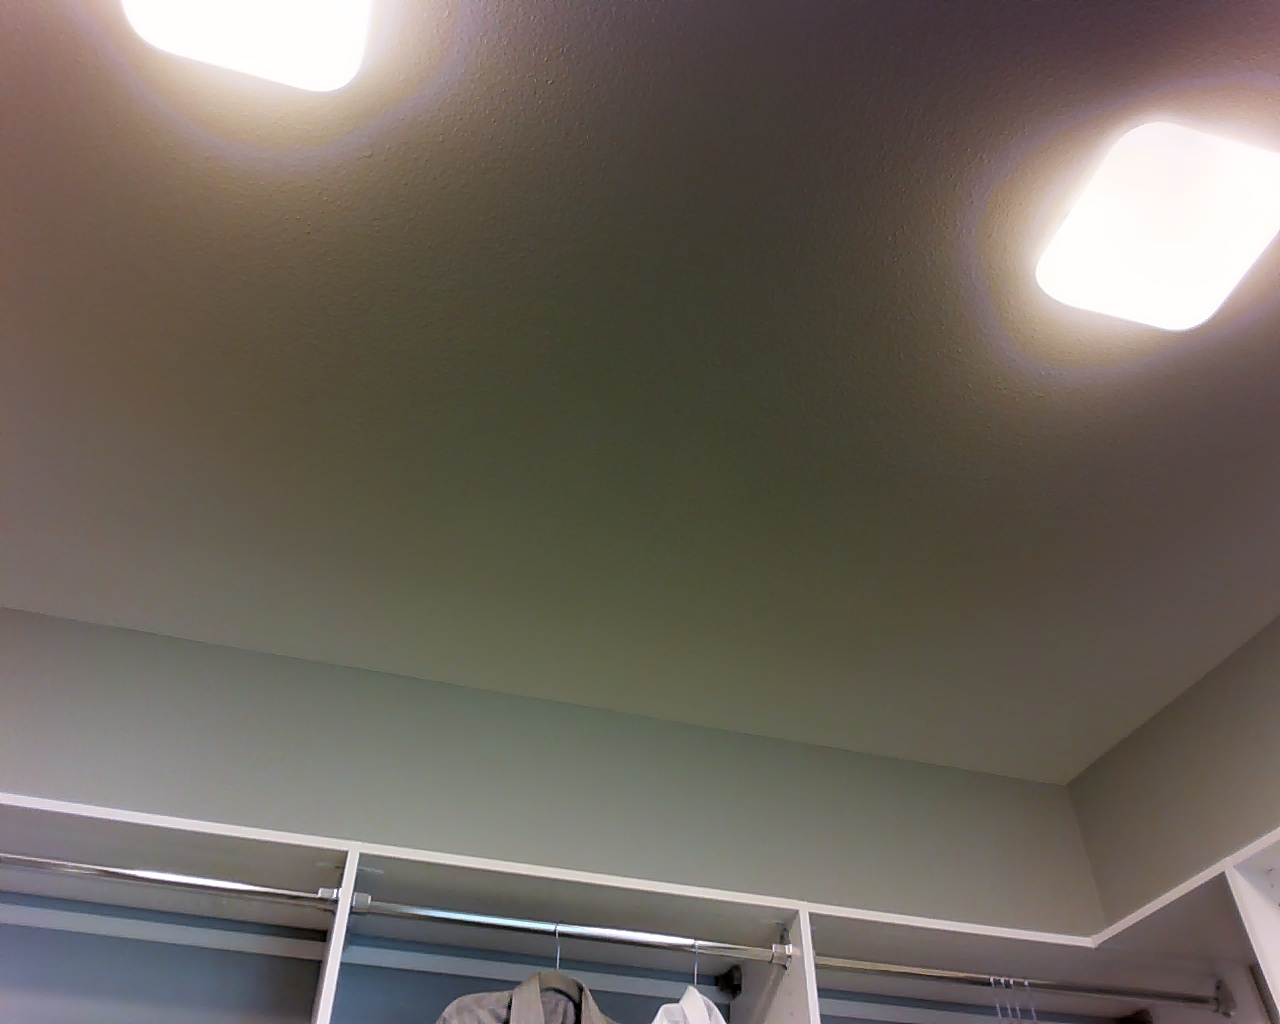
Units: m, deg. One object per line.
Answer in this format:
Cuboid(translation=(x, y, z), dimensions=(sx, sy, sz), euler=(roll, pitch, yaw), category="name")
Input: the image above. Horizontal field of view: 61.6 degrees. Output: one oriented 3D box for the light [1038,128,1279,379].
Cuboid(translation=(0.749, -0.350, 1.460), dimensions=(0.320, 0.310, 0.110), euler=(12, -44, -12), category="light")
